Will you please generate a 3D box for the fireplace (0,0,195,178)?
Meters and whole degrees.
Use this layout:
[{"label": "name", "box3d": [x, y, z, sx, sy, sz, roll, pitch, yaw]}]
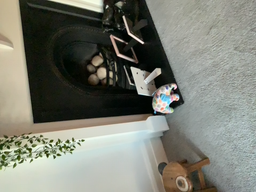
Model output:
[{"label": "fireplace", "box3d": [-0.390, -0.320, 1.650, 0.690, 1.250, 1.510, -36, 63, 47]}]
